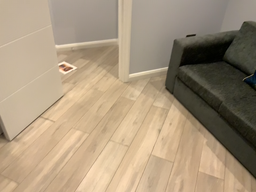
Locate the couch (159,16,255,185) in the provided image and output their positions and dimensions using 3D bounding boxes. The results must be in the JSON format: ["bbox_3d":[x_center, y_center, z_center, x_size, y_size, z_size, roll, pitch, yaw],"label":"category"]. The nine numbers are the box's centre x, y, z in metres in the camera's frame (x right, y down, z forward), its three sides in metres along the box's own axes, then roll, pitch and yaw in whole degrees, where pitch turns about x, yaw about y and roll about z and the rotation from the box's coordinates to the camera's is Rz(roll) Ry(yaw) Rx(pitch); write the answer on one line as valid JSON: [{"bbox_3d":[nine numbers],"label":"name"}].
[{"bbox_3d":[1.190,-0.020,1.900,0.890,0.800,1.870,-12,38,-20],"label":"couch"}]
